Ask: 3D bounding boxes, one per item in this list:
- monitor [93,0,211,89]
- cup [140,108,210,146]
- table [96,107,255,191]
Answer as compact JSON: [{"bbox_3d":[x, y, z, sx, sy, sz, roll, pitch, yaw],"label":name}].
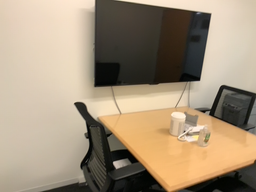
[{"bbox_3d":[0.300,-0.500,2.210,1.340,0.780,0.070,-5,17,-27],"label":"monitor"},{"bbox_3d":[0.420,0.260,1.950,0.490,0.140,0.380,-5,17,-29],"label":"cup"},{"bbox_3d":[0.470,0.690,2.060,1.210,0.740,1.200,-4,17,-26],"label":"table"}]
